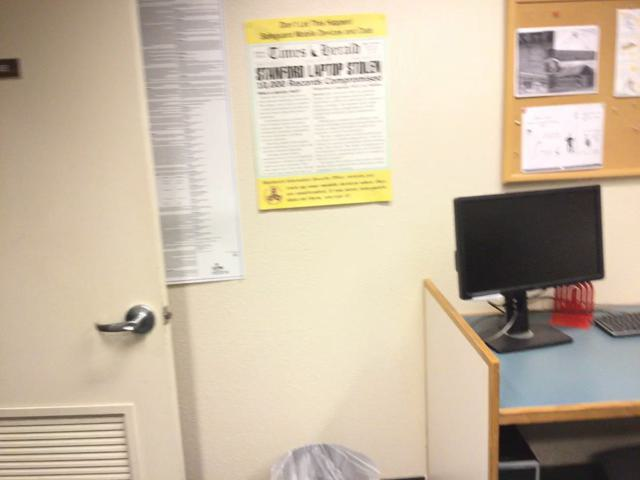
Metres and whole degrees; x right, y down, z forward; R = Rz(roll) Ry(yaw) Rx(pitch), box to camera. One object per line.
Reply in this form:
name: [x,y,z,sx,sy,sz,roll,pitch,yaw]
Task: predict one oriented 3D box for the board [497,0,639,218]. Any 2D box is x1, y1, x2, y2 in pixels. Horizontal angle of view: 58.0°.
board: [1.130,-0.480,1.850,1.080,0.750,0.080,-3,10,3]
